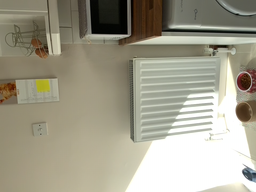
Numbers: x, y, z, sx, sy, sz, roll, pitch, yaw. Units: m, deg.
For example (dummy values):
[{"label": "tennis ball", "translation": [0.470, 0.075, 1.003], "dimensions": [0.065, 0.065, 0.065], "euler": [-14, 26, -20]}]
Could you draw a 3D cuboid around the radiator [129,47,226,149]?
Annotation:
[{"label": "radiator", "translation": [0.370, 0.000, 1.610], "dimensions": [0.120, 0.710, 0.720], "euler": [-143, 51, -68]}]
